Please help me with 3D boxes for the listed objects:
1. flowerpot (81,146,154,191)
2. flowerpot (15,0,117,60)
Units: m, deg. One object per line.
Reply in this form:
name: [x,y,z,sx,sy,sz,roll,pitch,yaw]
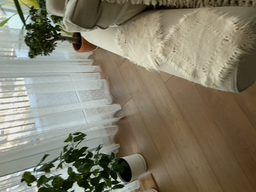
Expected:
flowerpot: [-0.070,0.590,1.660,0.200,0.510,0.210,-39,68,44]
flowerpot: [-0.570,-0.650,1.950,0.440,0.690,0.450,-45,63,41]
